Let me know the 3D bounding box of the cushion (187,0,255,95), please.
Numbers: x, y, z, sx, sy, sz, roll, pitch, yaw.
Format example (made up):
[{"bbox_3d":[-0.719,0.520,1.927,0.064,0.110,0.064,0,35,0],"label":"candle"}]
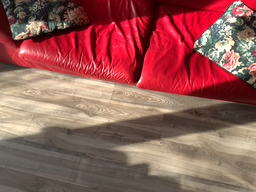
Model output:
[{"bbox_3d":[0.750,-0.340,1.340,0.540,0.080,0.490,-37,68,-20],"label":"cushion"}]

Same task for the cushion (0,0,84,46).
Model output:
[{"bbox_3d":[-0.610,-0.610,1.420,0.480,0.090,0.490,-21,63,-13],"label":"cushion"}]
